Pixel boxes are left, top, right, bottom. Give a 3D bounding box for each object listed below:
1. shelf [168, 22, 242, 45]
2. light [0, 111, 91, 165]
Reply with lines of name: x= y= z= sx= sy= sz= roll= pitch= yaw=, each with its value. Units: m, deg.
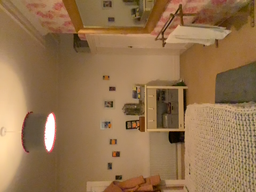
shelf: x=0.940 y=-0.770 z=2.640 sx=0.290 sy=0.820 sz=0.190 roll=-165 pitch=75 yaw=-85
light: x=-1.060 y=0.470 z=2.520 sx=0.560 sy=1.130 sz=0.440 roll=-166 pitch=72 yaw=-85
